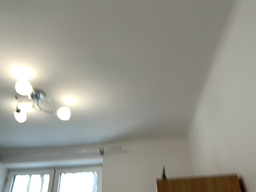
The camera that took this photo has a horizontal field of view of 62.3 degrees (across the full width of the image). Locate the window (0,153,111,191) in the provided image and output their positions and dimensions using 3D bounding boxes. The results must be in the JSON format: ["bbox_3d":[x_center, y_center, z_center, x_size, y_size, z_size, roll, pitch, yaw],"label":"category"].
[{"bbox_3d":[-1.030,1.720,2.720,1.580,1.840,0.180,-5,-32,5],"label":"window"}]
